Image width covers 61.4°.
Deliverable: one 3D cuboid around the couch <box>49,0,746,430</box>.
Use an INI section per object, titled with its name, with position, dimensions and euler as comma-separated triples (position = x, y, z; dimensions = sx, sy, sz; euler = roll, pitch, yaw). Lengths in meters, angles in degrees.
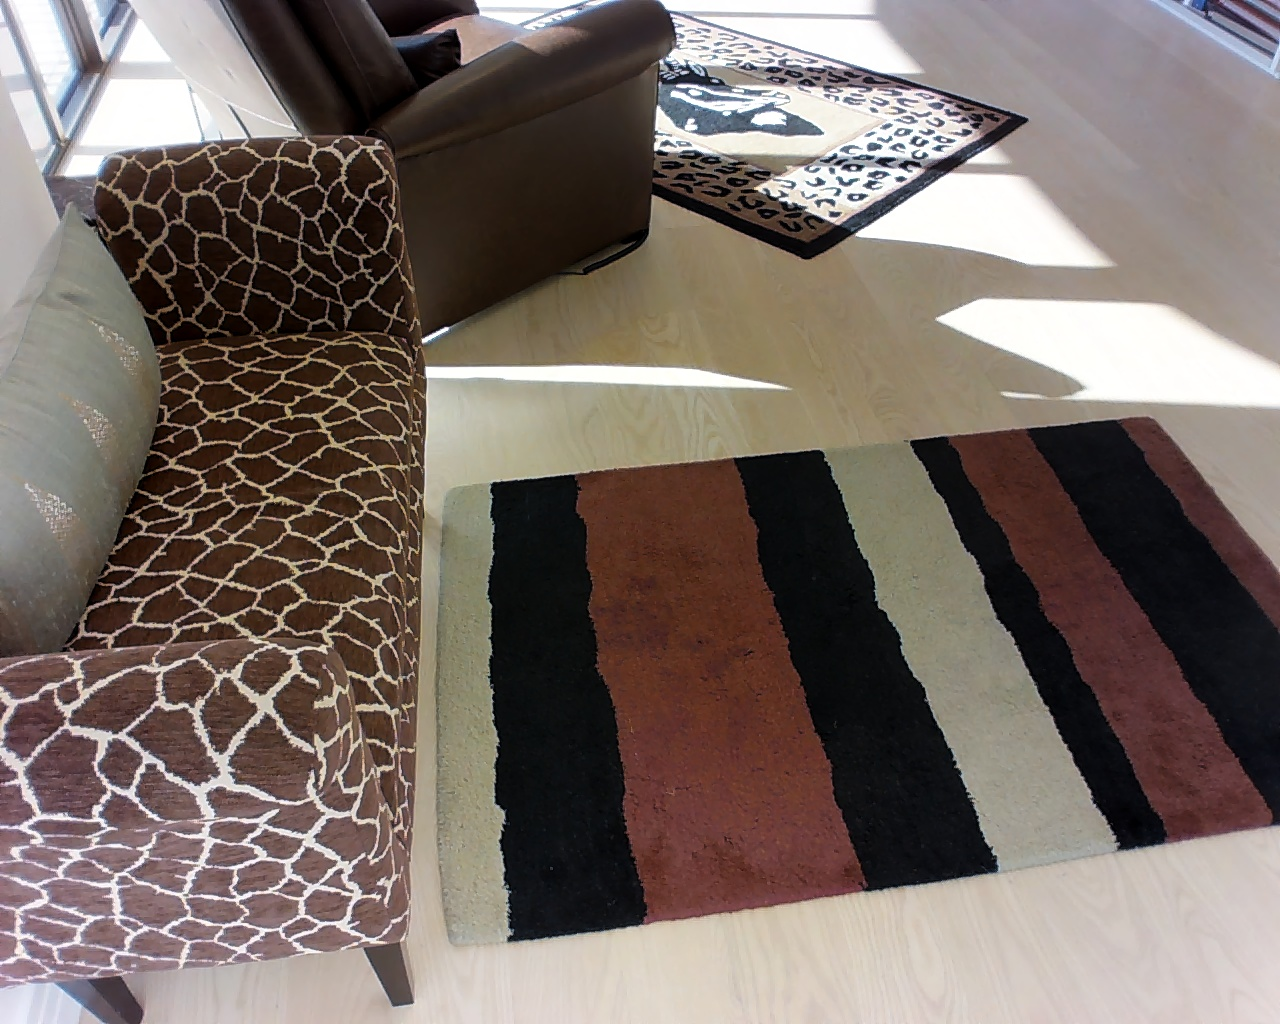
[couch]
position = -0.520, -1.070, 2.440
dimensions = 1.040, 1.050, 1.110
euler = 32, 51, 30
